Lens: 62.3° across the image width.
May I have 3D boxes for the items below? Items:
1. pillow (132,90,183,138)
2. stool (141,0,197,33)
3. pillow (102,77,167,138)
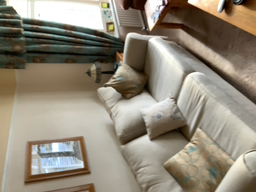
[{"bbox_3d":[0.280,0.160,1.980,0.190,0.380,0.290,-26,91,47],"label":"pillow"},{"bbox_3d":[0.450,-1.020,2.440,0.450,0.400,0.350,136,127,-63],"label":"stool"},{"bbox_3d":[0.070,0.100,2.330,0.480,0.490,0.310,28,132,34],"label":"pillow"}]
